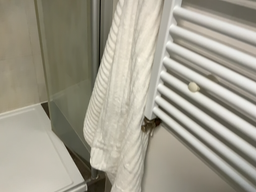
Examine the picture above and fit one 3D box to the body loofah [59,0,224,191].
[{"bbox_3d":[-0.050,0.050,0.830,0.210,1.690,0.490,-17,41,-31],"label":"body loofah"}]
